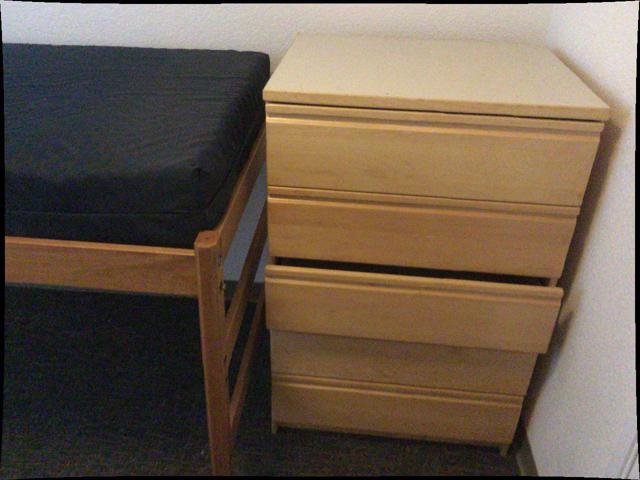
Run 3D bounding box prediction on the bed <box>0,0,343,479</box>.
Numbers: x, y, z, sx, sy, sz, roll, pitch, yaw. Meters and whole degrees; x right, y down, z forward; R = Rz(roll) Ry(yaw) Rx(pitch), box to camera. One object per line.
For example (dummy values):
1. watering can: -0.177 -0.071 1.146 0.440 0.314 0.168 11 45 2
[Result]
1. bed: -1.268 0.000 1.790 2.586 1.261 1.151 3 38 3
